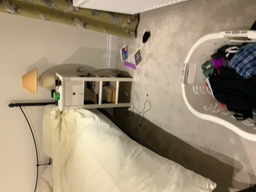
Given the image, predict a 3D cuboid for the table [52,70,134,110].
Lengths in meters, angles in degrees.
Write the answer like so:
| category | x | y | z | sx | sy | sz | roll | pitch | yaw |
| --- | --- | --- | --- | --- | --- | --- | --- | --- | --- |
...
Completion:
| category | x | y | z | sx | sy | sz | roll | pitch | yaw |
| --- | --- | --- | --- | --- | --- | --- | --- | --- | --- |
| table | -0.430 | -0.090 | 2.470 | 0.580 | 0.780 | 0.320 | 28 | 114 | 60 |
